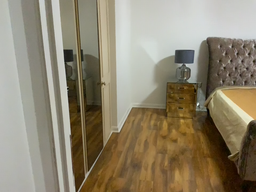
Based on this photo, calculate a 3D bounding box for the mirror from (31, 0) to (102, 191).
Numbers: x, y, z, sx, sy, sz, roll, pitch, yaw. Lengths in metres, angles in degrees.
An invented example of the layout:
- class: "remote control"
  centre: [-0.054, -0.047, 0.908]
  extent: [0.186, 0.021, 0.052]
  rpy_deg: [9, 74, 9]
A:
- class: "mirror"
  centre: [-0.450, -0.160, 1.910]
  extent: [0.090, 2.250, 1.130]
  rpy_deg: [1, 16, 6]

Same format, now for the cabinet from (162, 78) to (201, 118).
- class: "cabinet"
  centre: [0.970, 0.020, 3.960]
  extent: [0.640, 0.630, 0.450]
  rpy_deg: [2, 16, 9]
